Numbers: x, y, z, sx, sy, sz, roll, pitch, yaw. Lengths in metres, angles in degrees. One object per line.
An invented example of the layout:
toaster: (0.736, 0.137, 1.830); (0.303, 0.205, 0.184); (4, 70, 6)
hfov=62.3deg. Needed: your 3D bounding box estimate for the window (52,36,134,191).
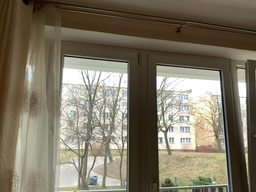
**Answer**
window: (-0.250, 0.240, 1.650); (0.560, 1.370, 0.150); (4, -13, -16)
